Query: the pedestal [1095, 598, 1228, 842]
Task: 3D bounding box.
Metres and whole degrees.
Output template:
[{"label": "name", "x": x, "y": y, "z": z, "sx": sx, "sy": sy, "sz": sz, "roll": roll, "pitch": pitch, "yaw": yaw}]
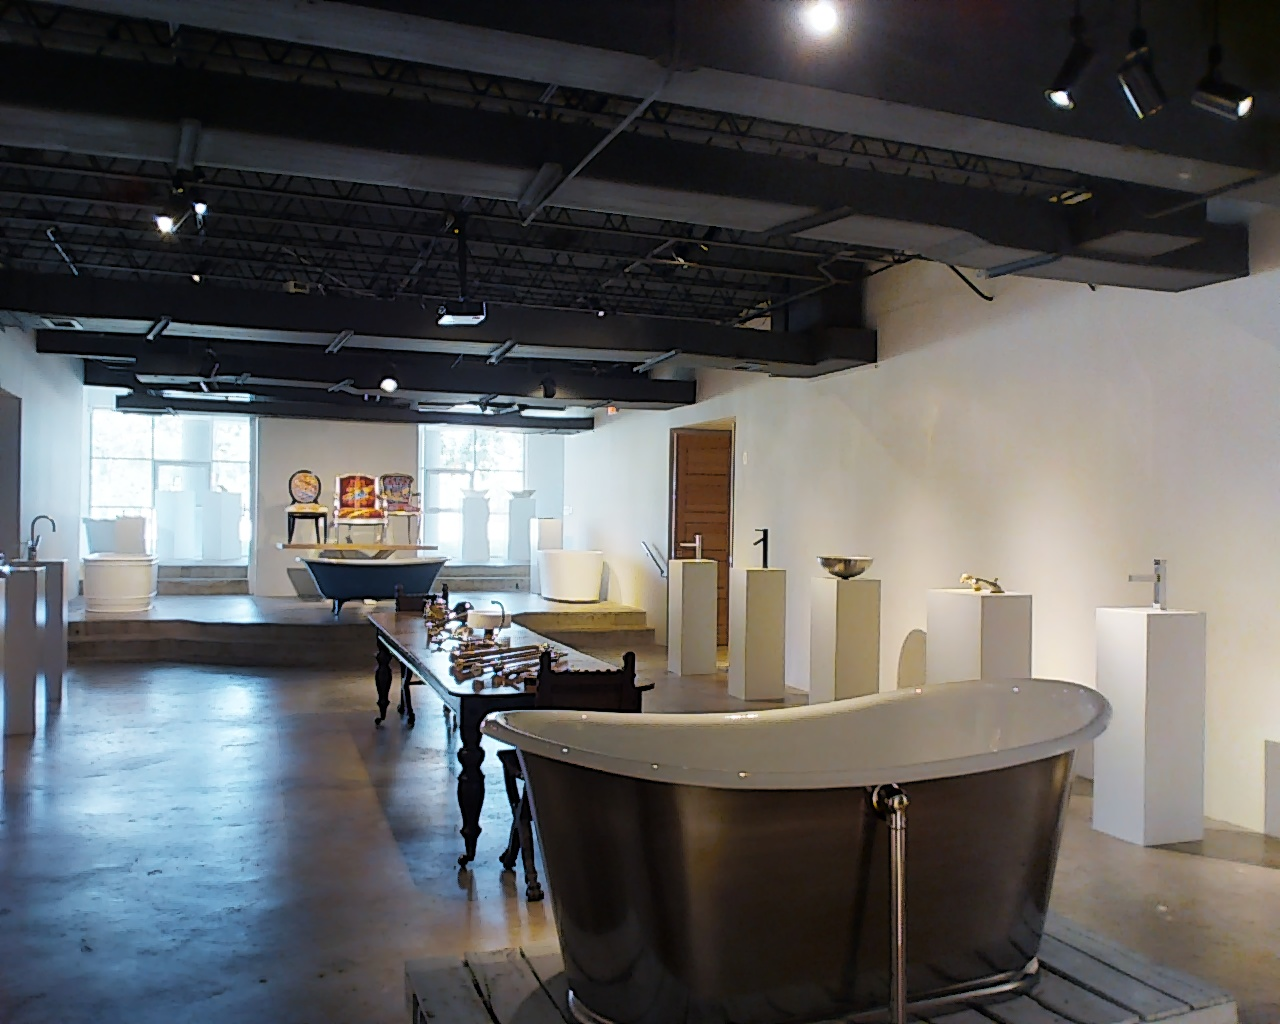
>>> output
[{"label": "pedestal", "x": 2.490, "y": 0.970, "z": 5.140, "sx": 0.420, "sy": 1.080, "sz": 0.360, "roll": 1, "pitch": 0, "yaw": -19}]
